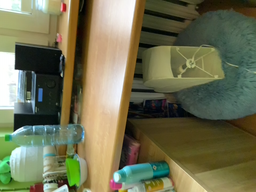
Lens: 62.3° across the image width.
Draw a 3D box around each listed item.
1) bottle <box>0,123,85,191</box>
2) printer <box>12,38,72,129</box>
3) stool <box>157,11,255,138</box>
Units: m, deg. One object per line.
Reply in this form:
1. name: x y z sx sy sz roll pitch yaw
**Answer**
1. bottle: -0.520 0.330 0.990 0.420 0.510 0.230 33 118 57
2. printer: -0.450 -0.070 1.080 0.250 0.240 0.390 33 118 57
3. stool: 0.440 -0.130 1.040 0.460 0.290 0.480 35 120 57
